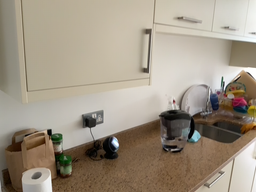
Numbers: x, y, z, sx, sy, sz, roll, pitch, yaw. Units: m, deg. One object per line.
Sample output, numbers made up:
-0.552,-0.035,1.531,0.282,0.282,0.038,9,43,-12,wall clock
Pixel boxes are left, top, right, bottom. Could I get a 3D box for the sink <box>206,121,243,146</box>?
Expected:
0.890,0.340,1.960,0.180,0.120,0.250,-10,18,-42,sink
